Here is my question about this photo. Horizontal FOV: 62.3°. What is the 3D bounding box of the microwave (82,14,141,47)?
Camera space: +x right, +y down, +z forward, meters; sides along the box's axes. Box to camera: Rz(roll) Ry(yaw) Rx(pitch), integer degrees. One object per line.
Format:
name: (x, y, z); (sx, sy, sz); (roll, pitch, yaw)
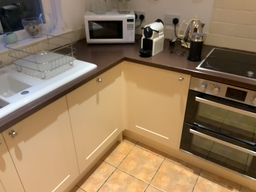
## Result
microwave: (-0.150, -0.620, 1.980); (0.500, 0.230, 0.300); (-1, 31, -3)

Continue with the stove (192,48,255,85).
stove: (0.830, -0.220, 1.530); (0.570, 0.010, 0.550); (18, 35, 27)
